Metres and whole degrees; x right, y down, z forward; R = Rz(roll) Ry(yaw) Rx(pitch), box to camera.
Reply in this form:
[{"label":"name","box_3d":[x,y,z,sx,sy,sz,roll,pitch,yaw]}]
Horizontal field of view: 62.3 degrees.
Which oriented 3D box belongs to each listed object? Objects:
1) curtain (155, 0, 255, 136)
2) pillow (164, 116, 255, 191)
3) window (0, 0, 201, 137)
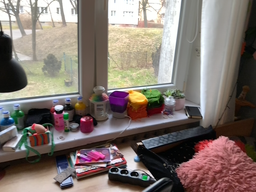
[{"label":"curtain","box_3d":[0.480,-0.690,1.190,0.360,1.840,0.330,-8,23,-26]},{"label":"pillow","box_3d":[0.500,0.390,1.130,0.450,0.450,0.180,18,12,-34]},{"label":"window","box_3d":[-0.200,-0.590,1.120,1.420,1.560,0.130,-7,23,-24]}]
